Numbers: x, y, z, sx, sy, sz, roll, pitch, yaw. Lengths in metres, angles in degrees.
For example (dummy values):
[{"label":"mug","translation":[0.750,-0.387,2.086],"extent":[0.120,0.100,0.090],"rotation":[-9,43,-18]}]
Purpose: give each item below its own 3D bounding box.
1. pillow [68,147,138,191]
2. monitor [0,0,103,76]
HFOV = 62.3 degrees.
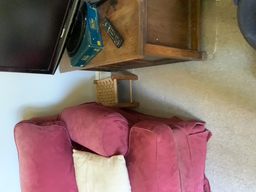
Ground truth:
[{"label":"pillow","translation":[-0.150,0.470,1.140],"extent":[0.420,0.190,0.290],"rotation":[-4,88,54]},{"label":"monitor","translation":[-0.460,-0.360,1.100],"extent":[0.660,0.530,0.050],"rotation":[-54,52,38]}]
